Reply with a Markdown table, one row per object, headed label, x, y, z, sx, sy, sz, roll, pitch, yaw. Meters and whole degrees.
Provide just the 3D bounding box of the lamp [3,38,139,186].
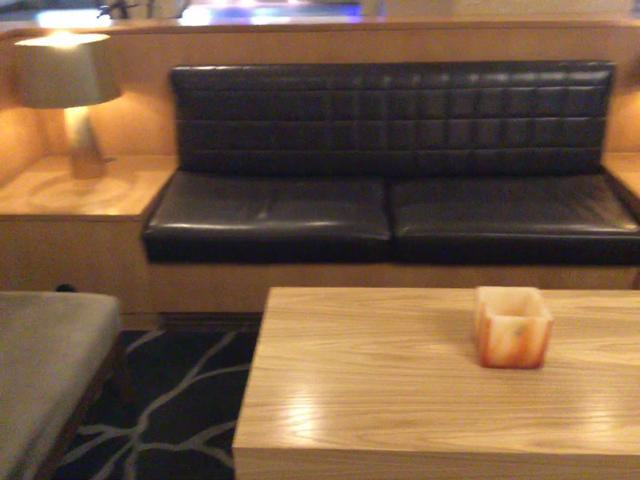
| label | x | y | z | sx | sy | sz | roll | pitch | yaw |
| --- | --- | --- | --- | --- | --- | --- | --- | --- | --- |
| lamp | -0.940 | -0.500 | 2.240 | 0.320 | 0.520 | 0.280 | 0 | 22 | 2 |
